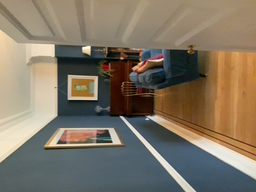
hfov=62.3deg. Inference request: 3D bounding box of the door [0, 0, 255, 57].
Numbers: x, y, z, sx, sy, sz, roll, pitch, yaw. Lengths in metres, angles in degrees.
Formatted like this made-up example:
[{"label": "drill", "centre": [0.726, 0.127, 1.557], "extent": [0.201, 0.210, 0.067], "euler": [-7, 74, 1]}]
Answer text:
[{"label": "door", "centre": [0.230, -0.420, 1.330], "extent": [0.980, 2.080, 0.090], "euler": [-177, 87, -80]}]
